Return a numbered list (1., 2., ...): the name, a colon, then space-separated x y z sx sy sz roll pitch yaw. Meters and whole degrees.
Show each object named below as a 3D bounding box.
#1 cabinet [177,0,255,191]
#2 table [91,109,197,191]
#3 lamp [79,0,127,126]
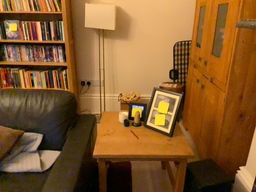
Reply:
1. cabinet: 0.920 -0.180 1.980 0.530 1.580 1.260 2 21 2
2. table: 0.080 0.480 1.620 0.620 0.540 0.620 1 21 -2
3. lamp: -0.280 -0.360 2.550 0.480 1.450 0.340 0 21 -4
